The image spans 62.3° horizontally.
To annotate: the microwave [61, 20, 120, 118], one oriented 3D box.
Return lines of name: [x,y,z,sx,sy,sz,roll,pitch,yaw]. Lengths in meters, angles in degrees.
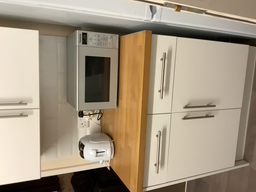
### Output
microwave: [-0.250,-0.160,1.320,0.380,0.260,0.500,-163,73,-63]
